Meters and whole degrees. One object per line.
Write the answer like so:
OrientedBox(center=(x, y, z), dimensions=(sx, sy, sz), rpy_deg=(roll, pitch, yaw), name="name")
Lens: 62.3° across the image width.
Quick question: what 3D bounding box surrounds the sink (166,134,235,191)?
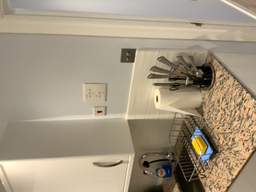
OrientedBox(center=(0.520, 0.610, 1.650), dimensions=(0.460, 0.230, 0.400), rpy_deg=(-105, 18, -51), name="sink")
